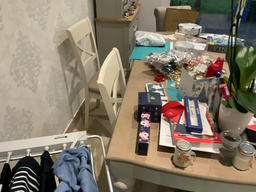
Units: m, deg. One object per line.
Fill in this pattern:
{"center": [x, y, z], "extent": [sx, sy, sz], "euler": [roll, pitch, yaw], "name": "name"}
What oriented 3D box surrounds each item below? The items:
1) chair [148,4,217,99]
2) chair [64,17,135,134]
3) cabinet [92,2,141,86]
{"center": [0.590, -0.550, 2.560], "extent": [0.450, 0.940, 0.600], "euler": [-8, 33, -13], "name": "chair"}
{"center": [-0.210, -0.170, 1.940], "extent": [0.480, 0.950, 0.400], "euler": [5, 32, 6], "name": "chair"}
{"center": [-0.110, -0.770, 2.980], "extent": [0.470, 0.850, 1.010], "euler": [4, 32, 5], "name": "cabinet"}
